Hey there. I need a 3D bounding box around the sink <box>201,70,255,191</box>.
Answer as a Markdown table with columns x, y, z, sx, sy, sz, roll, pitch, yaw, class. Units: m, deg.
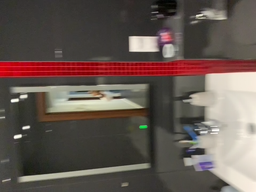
| x | y | z | sx | sy | sz | roll | pitch | yaw | class |
| --- | --- | --- | --- | --- | --- | --- | --- | --- | --- |
| 0.610 | 0.180 | 1.150 | 0.470 | 0.170 | 0.630 | -158 | 67 | -76 | sink |
